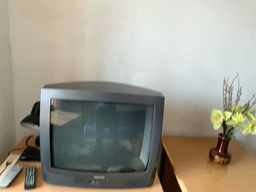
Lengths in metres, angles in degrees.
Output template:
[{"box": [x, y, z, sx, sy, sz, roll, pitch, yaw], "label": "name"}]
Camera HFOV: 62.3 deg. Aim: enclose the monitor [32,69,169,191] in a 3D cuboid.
[{"box": [-0.140, 0.140, 1.140, 0.530, 0.460, 0.520, 3, 16, -6], "label": "monitor"}]
